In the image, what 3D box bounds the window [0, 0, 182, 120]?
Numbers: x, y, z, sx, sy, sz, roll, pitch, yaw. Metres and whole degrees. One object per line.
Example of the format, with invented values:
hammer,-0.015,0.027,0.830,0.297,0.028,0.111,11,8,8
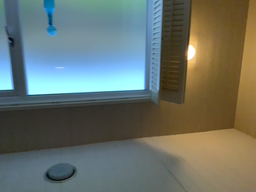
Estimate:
window,-0.540,-0.520,1.850,1.970,1.290,0.420,-3,-166,-16
